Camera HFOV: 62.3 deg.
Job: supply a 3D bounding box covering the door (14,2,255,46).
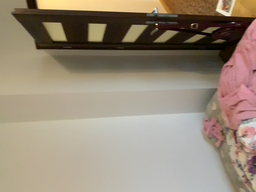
[{"bbox_3d":[0.300,-0.570,1.890,0.970,2.130,0.090,-158,67,-78],"label":"door"}]
